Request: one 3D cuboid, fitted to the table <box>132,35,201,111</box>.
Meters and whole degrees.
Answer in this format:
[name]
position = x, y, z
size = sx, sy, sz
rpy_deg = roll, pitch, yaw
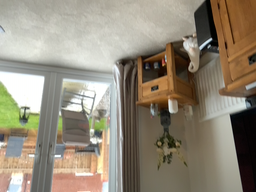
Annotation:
[table]
position = 0.420, -0.210, 2.380
size = 0.520, 0.590, 0.530
rpy_deg = -17, 155, 41
